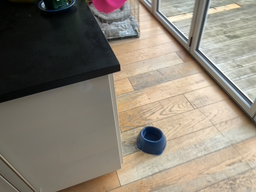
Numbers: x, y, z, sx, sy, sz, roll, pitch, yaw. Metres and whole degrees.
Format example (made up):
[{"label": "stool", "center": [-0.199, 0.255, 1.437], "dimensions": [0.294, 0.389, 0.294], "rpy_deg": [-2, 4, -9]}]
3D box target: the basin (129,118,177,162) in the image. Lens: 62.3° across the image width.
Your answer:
[{"label": "basin", "center": [0.160, 0.290, 1.430], "dimensions": [0.250, 0.070, 0.220], "rpy_deg": [-16, 49, -13]}]
